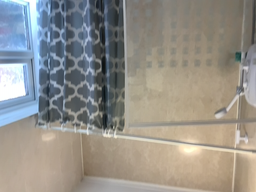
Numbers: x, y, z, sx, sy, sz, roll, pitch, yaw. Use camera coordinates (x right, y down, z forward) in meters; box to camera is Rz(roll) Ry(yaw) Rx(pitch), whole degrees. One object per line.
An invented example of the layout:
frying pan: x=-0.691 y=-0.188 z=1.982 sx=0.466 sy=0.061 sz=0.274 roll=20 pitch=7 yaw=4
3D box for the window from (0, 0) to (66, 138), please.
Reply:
window: x=-0.840 y=-0.270 z=1.260 sx=0.330 sy=0.950 sz=1.160 roll=1 pitch=-169 yaw=13
